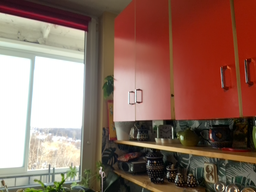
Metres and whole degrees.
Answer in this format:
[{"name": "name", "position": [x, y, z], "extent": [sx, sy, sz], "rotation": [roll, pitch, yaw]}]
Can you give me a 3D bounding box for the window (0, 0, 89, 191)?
[{"name": "window", "position": [-0.670, 0.020, 1.570], "extent": [0.700, 1.380, 0.110], "rotation": [5, -8, -28]}]
